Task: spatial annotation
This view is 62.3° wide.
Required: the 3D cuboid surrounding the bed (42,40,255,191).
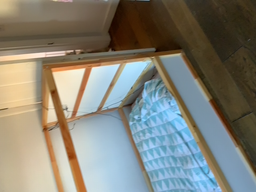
[{"bbox_3d":[0.190,0.820,1.620,2.180,1.120,1.080,66,150,21],"label":"bed"}]
